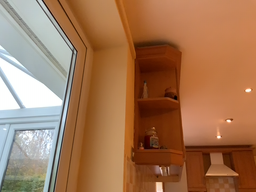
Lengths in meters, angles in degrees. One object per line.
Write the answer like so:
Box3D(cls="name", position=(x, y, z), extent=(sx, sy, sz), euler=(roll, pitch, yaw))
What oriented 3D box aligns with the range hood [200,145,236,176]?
Box3D(cls="range hood", position=(1.870, 1.370, 4.480), extent=(0.560, 0.550, 0.490), euler=(-4, -26, 11))
